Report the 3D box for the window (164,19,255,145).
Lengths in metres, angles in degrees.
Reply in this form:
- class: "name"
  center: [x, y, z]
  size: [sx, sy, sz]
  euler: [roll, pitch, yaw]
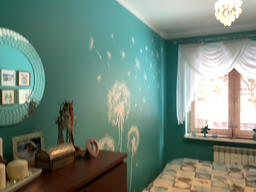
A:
- class: "window"
  center: [1.610, -0.200, 3.350]
  size: [2.020, 1.840, 0.270]
  euler: [0, 2, 22]
